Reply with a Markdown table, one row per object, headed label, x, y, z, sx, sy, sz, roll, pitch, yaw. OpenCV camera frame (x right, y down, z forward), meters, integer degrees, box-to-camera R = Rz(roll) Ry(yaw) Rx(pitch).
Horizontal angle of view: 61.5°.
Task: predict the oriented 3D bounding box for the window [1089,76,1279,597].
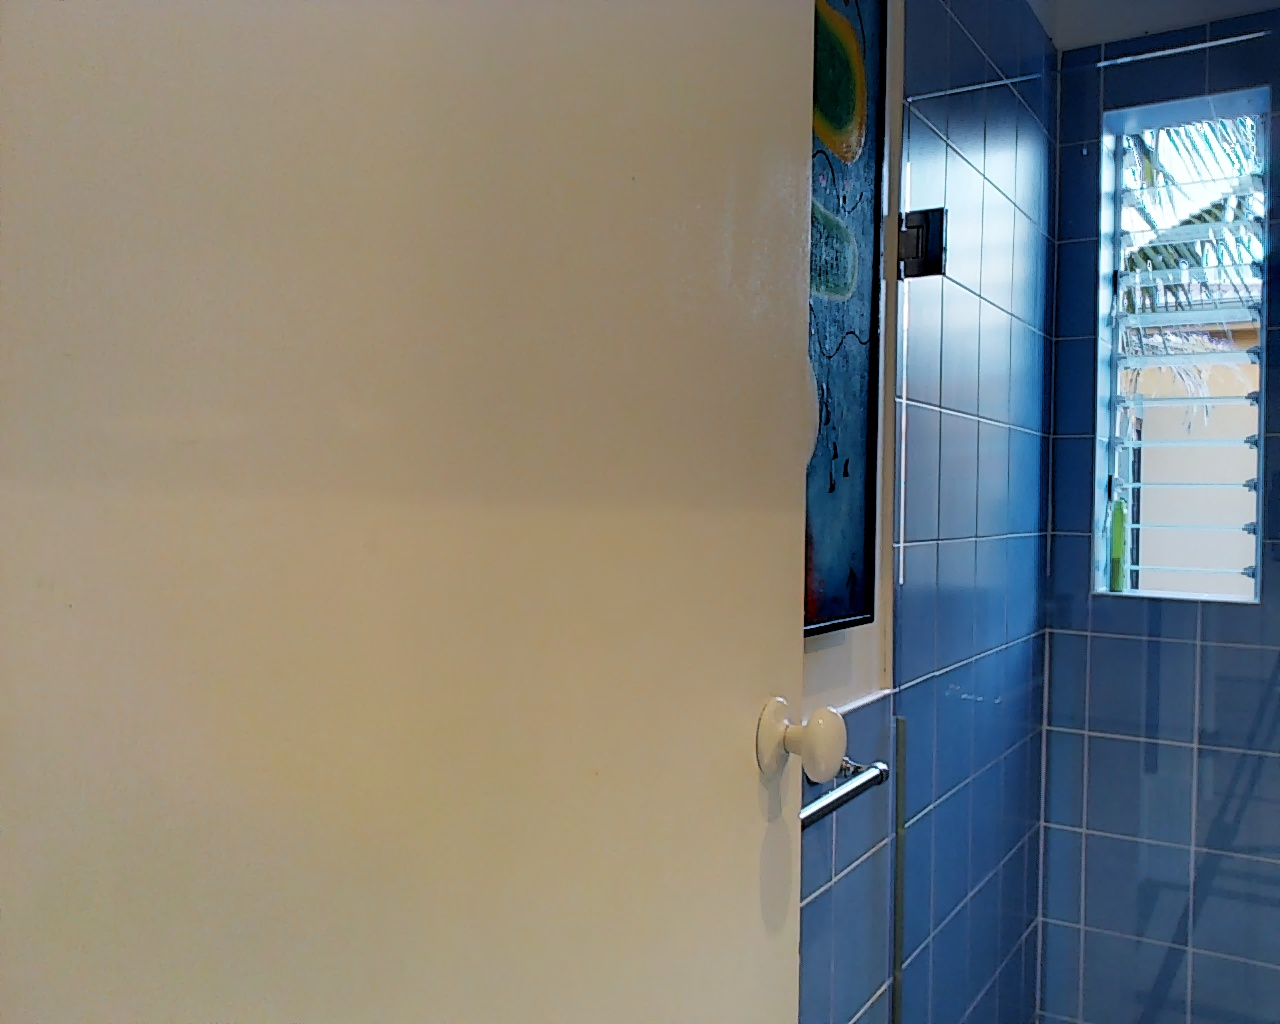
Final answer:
| label | x | y | z | sx | sy | sz | roll | pitch | yaw |
| --- | --- | --- | --- | --- | --- | --- | --- | --- | --- |
| window | 1.120 | -0.330 | 2.200 | 0.310 | 0.970 | 0.260 | 1 | 1 | 33 |
